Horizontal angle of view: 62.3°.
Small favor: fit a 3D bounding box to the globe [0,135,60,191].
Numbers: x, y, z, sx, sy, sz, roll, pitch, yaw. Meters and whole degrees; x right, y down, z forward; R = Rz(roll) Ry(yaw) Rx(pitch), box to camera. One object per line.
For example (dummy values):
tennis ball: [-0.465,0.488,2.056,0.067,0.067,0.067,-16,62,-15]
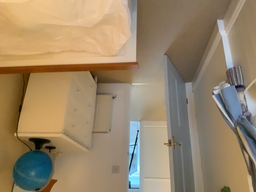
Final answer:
globe: [-0.790,0.530,1.670,0.370,0.390,0.270,-1,157,5]
